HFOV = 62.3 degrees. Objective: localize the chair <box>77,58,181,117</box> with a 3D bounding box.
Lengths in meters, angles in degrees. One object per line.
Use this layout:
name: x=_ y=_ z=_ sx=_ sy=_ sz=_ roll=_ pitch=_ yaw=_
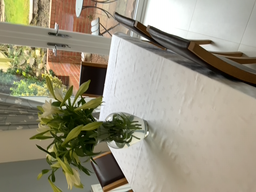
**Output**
chair: x=-0.010 y=-0.090 z=2.200 sx=0.510 sy=0.890 sz=0.370 roll=49 pitch=132 yaw=52
